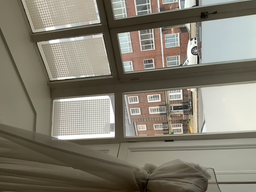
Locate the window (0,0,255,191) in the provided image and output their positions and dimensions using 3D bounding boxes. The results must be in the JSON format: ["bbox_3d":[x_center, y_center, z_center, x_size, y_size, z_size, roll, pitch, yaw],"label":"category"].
[{"bbox_3d":[0.110,-0.370,1.440,1.070,2.270,1.980,-76,-21,-60],"label":"window"}]
